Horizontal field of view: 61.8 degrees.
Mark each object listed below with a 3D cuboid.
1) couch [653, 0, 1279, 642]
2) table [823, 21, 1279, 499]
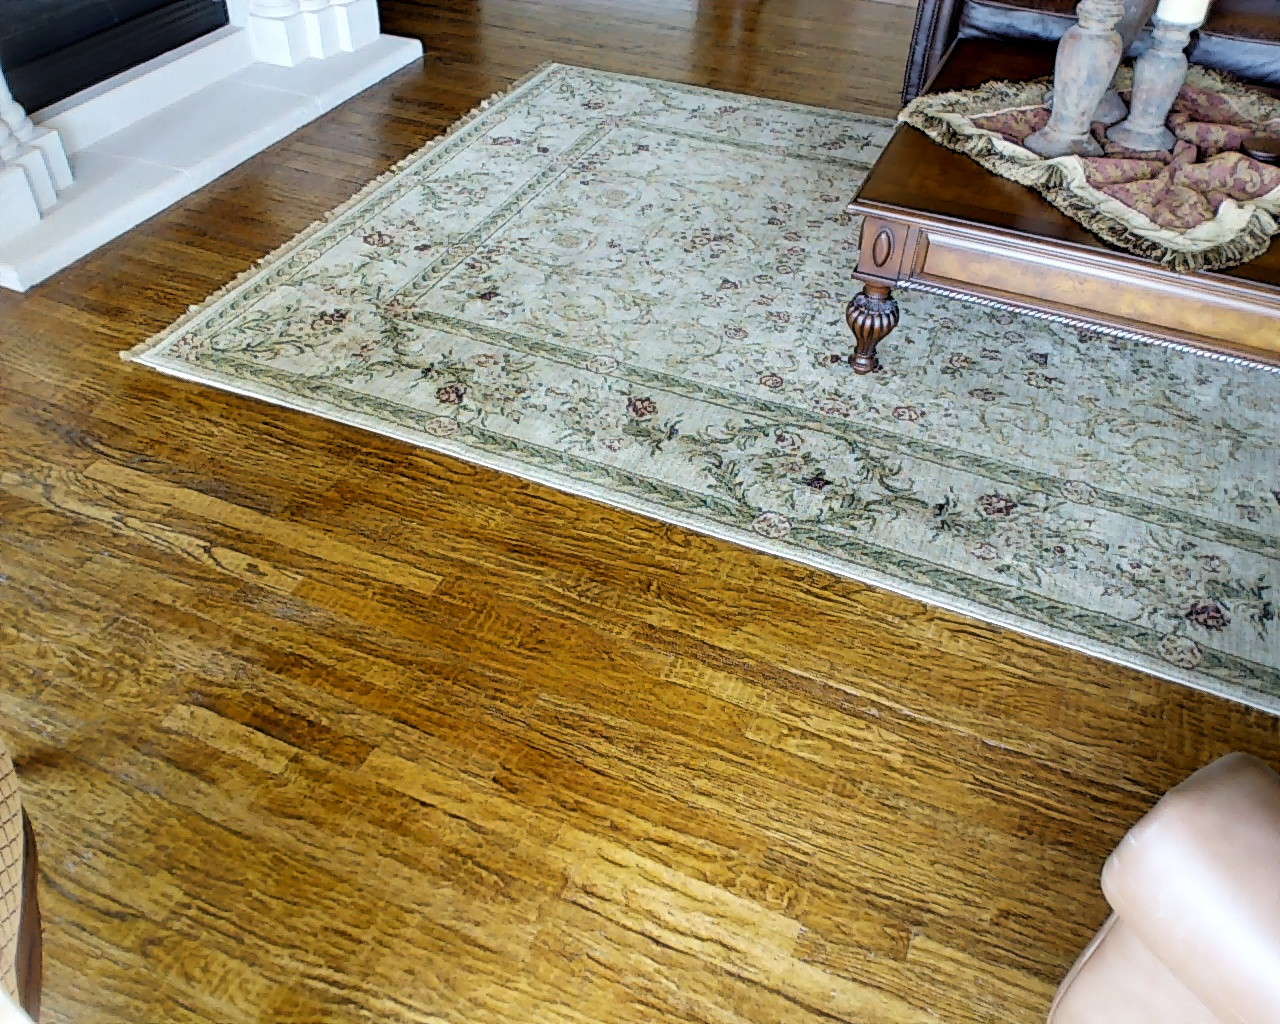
[{"bbox_3d":[1.990,-0.990,2.800,2.930,0.940,3.040,17,45,17],"label":"couch"},{"bbox_3d":[1.280,-0.720,2.760,1.240,0.510,1.240,17,45,17],"label":"table"}]
